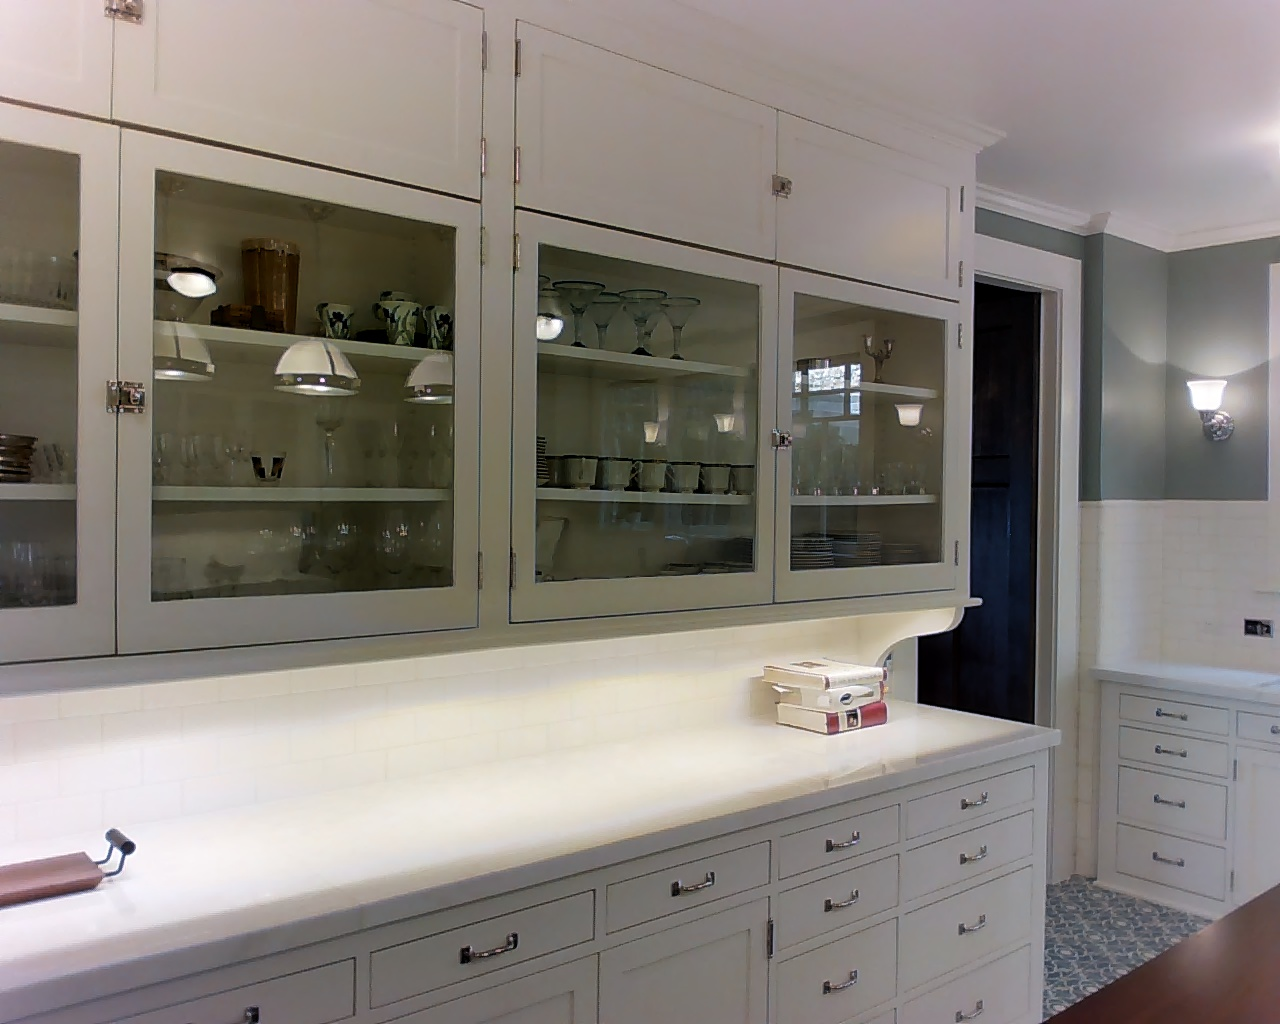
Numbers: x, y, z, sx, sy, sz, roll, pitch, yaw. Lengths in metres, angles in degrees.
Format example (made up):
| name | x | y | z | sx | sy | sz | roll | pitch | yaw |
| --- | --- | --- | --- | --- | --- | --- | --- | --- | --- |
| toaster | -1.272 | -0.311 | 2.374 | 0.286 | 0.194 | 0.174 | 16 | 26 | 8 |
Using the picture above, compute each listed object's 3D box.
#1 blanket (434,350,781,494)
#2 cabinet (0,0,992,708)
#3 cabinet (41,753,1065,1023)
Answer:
| name | x | y | z | sx | sy | sz | roll | pitch | yaw |
| --- | --- | --- | --- | --- | --- | --- | --- | --- | --- |
| blanket | -0.060 | -0.200 | 2.720 | 0.840 | 0.300 | 0.340 | 0 | 1 | -40 |
| cabinet | -0.310 | -0.410 | 2.500 | 3.350 | 1.430 | 0.400 | 0 | 1 | -40 |
| cabinet | -0.050 | 1.130 | 2.140 | 3.340 | 0.820 | 0.050 | 0 | 1 | -40 |
